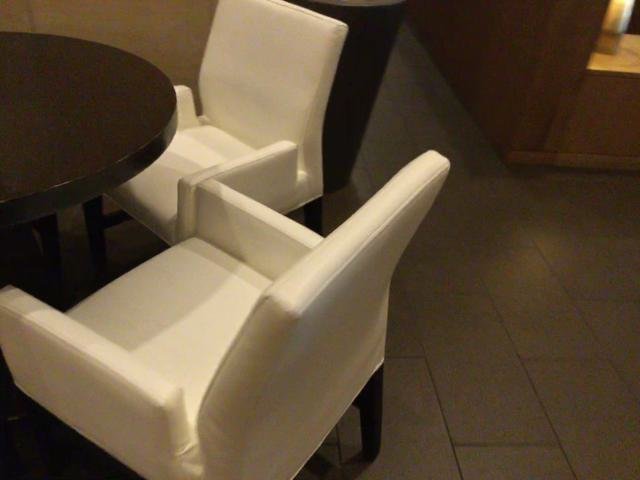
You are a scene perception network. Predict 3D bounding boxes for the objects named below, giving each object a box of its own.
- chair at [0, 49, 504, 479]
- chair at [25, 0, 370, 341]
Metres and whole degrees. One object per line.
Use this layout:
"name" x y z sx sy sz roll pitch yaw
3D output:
"chair" -0.200 0.190 1.170 0.670 0.840 0.650 31 42 28
"chair" -0.350 -0.290 1.780 0.610 0.770 0.670 31 42 28
